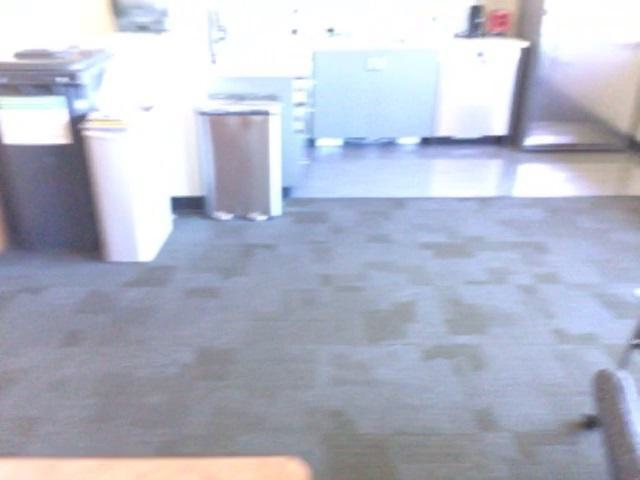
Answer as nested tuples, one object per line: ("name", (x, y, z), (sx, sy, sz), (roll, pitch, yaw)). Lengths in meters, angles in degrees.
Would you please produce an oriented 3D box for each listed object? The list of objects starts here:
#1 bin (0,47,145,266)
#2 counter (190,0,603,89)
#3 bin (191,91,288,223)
("bin", (-1.370, -0.450, 3.080), (0.510, 1.010, 0.550), (-4, 25, 3))
("counter", (0.440, -1.480, 4.180), (2.360, 0.250, 1.810), (-4, 25, 3))
("bin", (-0.470, -0.500, 3.530), (0.460, 0.730, 0.240), (-4, 25, 3))
